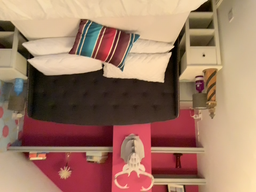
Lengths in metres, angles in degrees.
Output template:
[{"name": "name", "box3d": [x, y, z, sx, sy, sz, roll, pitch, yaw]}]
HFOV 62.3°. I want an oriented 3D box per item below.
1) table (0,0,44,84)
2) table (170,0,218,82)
[{"name": "table", "box3d": [-1.300, -0.590, 2.460, 0.360, 0.790, 0.540, -1, 169, 2]}, {"name": "table", "box3d": [0.700, -0.610, 2.380, 0.340, 0.790, 0.530, -1, 169, 2]}]
